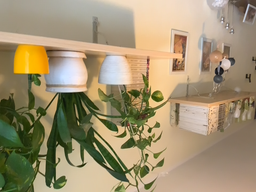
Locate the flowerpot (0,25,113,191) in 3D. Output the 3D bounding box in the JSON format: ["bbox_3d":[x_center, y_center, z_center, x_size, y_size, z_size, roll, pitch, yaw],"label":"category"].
[{"bbox_3d":[-0.380,0.160,0.650,0.410,0.650,0.540,-6,-169,-43],"label":"flowerpot"}]

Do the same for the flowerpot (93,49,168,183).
[{"bbox_3d":[0.010,0.070,1.020,0.290,0.550,0.200,-7,-169,-44],"label":"flowerpot"}]

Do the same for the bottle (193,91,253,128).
[{"bbox_3d":[0.940,0.110,2.090,0.490,0.260,0.350,-6,-169,-43],"label":"bottle"}]
